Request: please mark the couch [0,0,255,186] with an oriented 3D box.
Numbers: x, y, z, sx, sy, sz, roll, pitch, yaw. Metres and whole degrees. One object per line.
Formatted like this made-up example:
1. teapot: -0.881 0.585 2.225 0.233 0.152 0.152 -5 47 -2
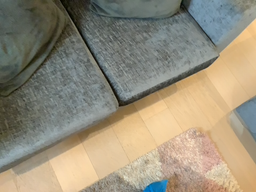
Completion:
1. couch: -0.260 -0.360 1.000 1.550 0.770 0.960 -27 77 -18
